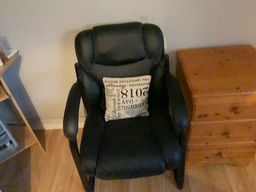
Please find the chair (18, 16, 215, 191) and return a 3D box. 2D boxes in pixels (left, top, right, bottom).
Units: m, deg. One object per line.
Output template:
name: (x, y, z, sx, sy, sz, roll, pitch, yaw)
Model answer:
chair: (-0.010, 0.120, 1.260, 0.660, 0.880, 0.710, -3, 40, 3)
